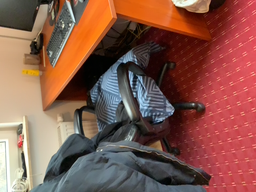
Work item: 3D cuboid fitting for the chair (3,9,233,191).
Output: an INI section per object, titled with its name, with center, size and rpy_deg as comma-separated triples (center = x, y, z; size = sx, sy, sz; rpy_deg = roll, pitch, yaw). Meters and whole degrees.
[chair]
center = -0.120, 0.200, 1.340
size = 0.740, 1.070, 0.900
rpy_deg = -35, 61, 48

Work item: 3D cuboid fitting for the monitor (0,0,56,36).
[monitor]
center = -0.710, -0.600, 1.410
size = 0.500, 0.360, 0.030
rpy_deg = -34, 62, 45
